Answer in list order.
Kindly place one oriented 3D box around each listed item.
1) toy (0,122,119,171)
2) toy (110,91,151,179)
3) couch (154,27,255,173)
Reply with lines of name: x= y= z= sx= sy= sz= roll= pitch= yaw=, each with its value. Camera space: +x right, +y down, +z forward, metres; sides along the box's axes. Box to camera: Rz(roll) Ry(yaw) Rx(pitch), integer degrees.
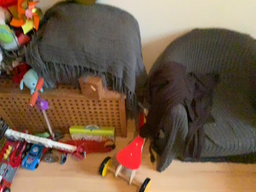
toy: x=-0.510 y=0.370 z=1.550 sx=0.860 sy=0.280 sz=0.230 roll=0 pitch=46 yaw=2
toy: x=0.040 y=0.260 z=1.580 sx=0.240 sy=0.210 sz=0.620 roll=3 pitch=46 yaw=4
couch: x=0.610 y=0.010 z=1.530 sx=0.770 sy=0.670 sz=0.800 roll=2 pitch=46 yaw=3
